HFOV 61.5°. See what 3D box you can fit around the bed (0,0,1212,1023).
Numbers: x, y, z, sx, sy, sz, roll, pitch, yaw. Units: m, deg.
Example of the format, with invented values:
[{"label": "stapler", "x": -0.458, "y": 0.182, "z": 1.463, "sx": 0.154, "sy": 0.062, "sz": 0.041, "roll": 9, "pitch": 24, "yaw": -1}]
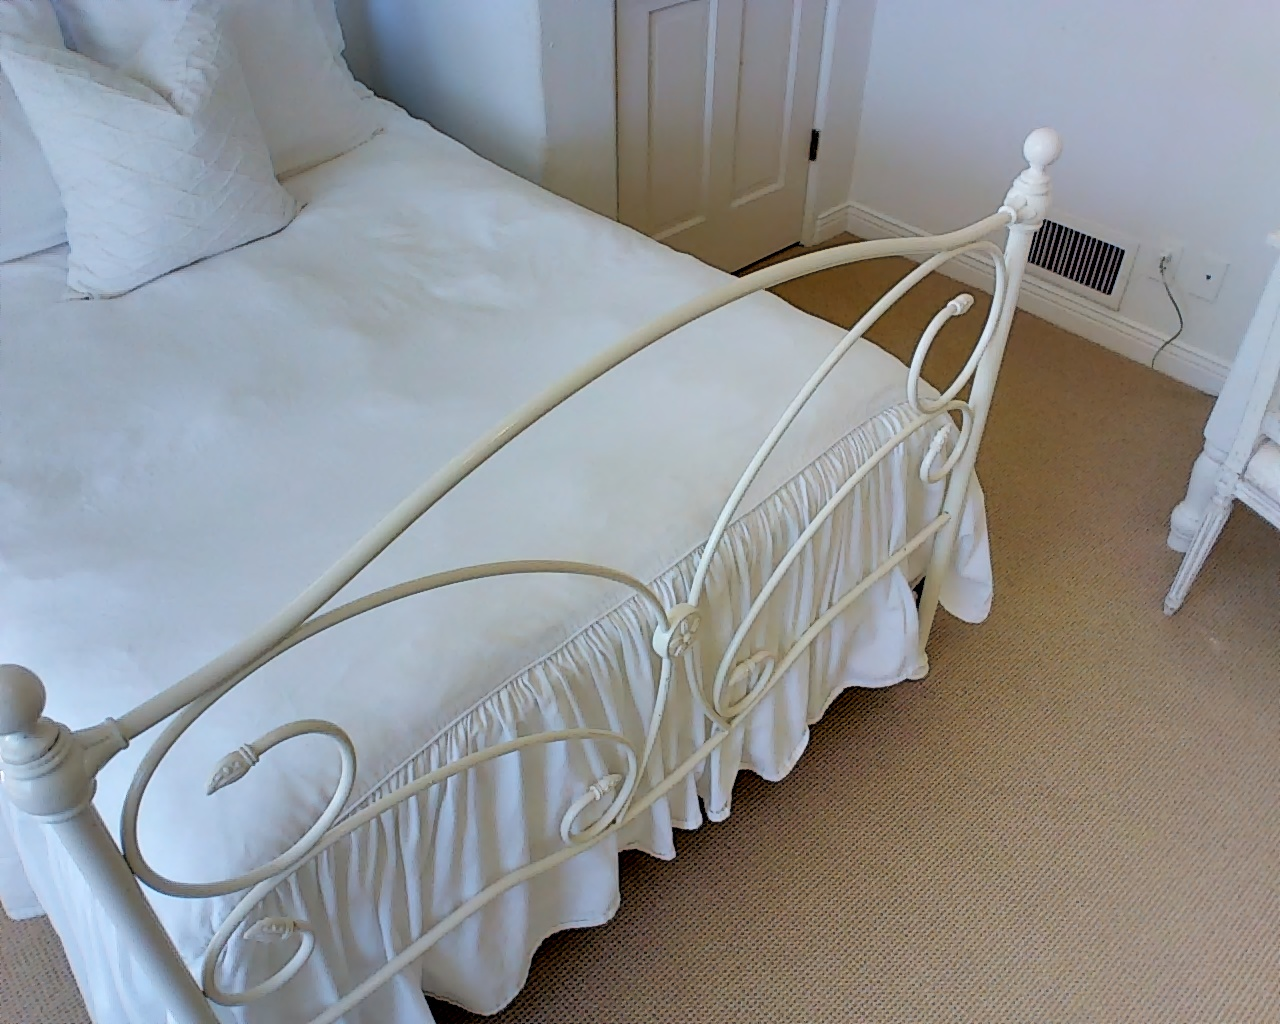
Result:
[{"label": "bed", "x": -0.450, "y": -0.140, "z": 1.790, "sx": 1.760, "sy": 1.100, "sz": 1.680, "roll": -33, "pitch": 51, "yaw": -32}]
